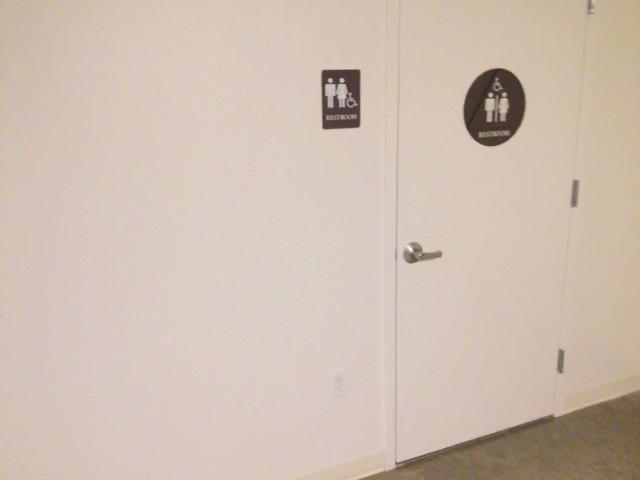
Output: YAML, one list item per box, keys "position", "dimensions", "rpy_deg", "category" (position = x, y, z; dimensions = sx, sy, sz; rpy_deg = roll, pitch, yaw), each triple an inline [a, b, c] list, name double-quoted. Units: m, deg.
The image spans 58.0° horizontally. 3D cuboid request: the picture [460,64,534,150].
- position: [0.680, -0.510, 2.210]
  dimensions: [0.310, 0.300, 0.030]
  rpy_deg: [-9, 13, -20]
  category: "picture"
